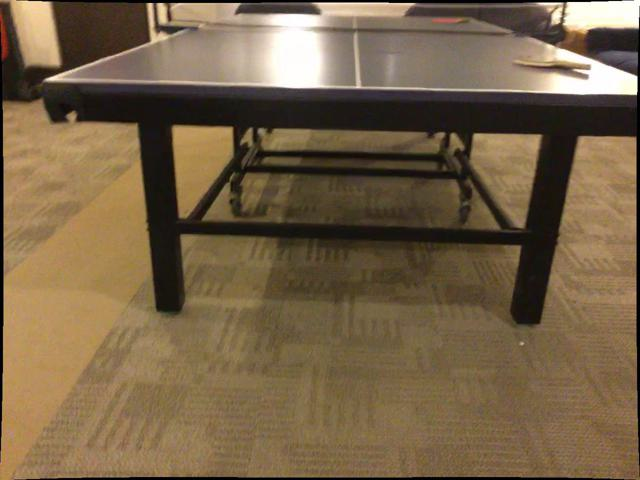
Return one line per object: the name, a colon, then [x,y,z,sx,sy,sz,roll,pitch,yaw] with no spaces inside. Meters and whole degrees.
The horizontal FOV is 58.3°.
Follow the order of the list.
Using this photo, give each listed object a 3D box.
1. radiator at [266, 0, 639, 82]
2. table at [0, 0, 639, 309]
radiator: [1.489,-2.092,5.620,3.817,0.771,1.790,1,24,2]
table: [0.150,-0.861,2.760,1.848,0.851,3.130,1,24,2]
